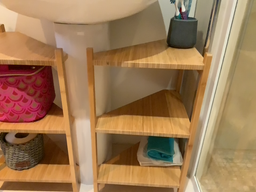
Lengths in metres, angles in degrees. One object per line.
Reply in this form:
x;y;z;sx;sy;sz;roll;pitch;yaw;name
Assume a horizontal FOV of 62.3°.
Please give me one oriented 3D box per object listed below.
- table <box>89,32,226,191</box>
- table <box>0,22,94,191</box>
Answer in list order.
0.070;0.080;0.860;0.370;0.580;0.350;3;28;0;table
-0.350;0.050;0.850;0.350;0.590;0.360;3;28;0;table
